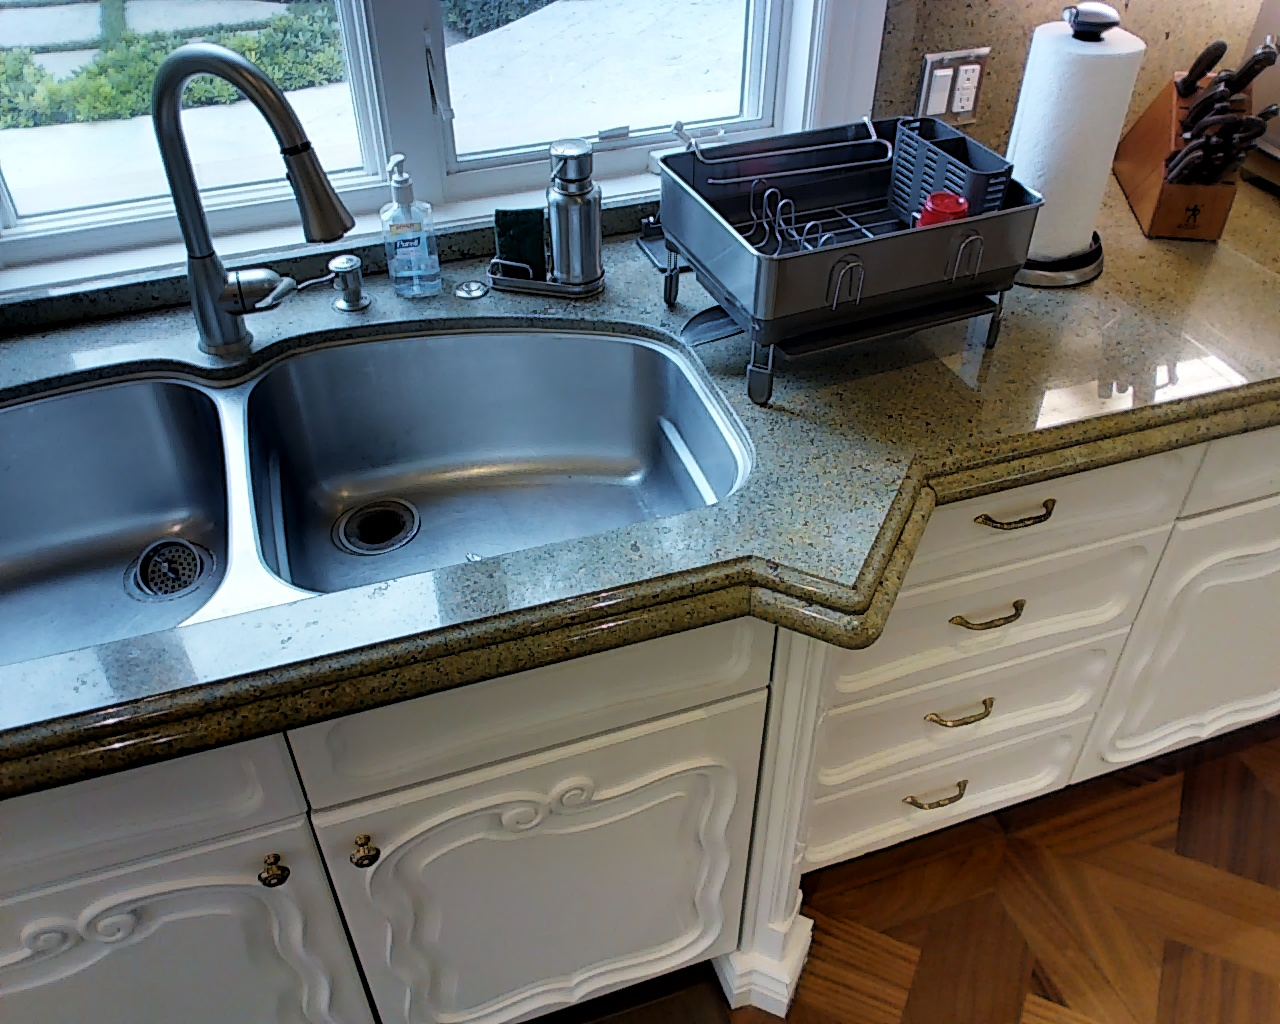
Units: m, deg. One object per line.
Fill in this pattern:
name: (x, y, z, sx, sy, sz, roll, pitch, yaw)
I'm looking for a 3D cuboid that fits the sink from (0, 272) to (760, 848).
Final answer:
sink: (-0.480, 0.040, 1.310, 1.130, 0.300, 0.480, -12, 42, -13)
